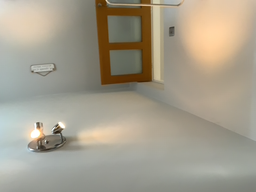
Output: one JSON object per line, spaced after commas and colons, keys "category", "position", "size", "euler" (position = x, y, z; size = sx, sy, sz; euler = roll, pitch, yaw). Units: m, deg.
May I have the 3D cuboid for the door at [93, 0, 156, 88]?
{"category": "door", "position": [-0.040, -1.180, 2.830], "size": [0.810, 2.070, 0.130], "euler": [-6, -167, -17]}
